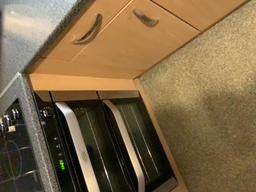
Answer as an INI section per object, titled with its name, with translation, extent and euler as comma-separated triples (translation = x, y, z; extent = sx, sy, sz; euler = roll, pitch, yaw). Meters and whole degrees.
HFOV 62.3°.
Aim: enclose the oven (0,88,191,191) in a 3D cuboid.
[oven]
translation = -0.200, 0.360, 1.210
extent = 0.600, 0.890, 0.590
euler = -33, 72, 33
